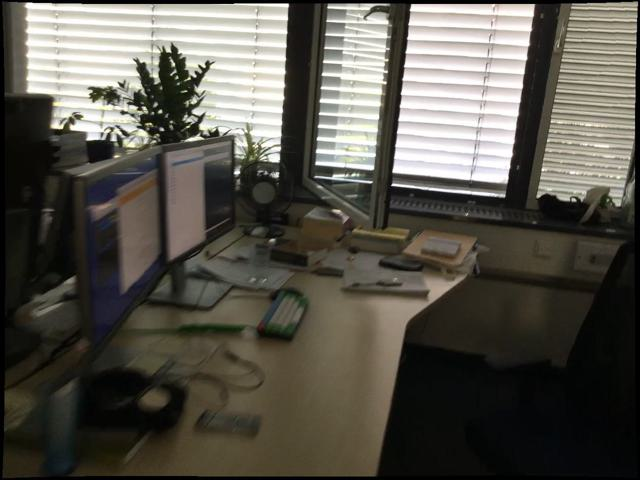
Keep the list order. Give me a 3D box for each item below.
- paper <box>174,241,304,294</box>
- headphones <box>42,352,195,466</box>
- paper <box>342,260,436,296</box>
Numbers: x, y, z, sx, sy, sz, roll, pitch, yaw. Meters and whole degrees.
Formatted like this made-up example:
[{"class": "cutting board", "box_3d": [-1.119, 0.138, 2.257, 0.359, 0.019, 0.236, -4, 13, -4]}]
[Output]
[{"class": "paper", "box_3d": [-0.280, 0.090, 2.070, 0.370, 0.050, 0.300, 7, 17, 16]}, {"class": "headphones", "box_3d": [-0.380, 0.320, 1.130, 0.210, 0.100, 0.210, 3, 17, 5]}, {"class": "paper", "box_3d": [0.240, 0.130, 2.030, 0.310, 0.020, 0.250, 3, 17, 5]}]
